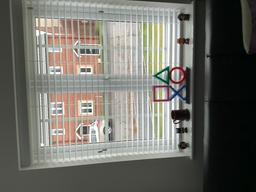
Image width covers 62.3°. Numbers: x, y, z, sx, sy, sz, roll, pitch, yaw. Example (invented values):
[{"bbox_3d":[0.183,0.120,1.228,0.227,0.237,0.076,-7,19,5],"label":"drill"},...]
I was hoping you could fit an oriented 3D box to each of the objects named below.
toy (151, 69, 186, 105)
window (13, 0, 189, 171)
[{"bbox_3d":[0.340,-0.080,1.790,0.140,0.250,0.290,-152,61,-76],"label":"toy"},{"bbox_3d":[-0.160,-0.100,1.720,0.150,1.300,1.280,-148,57,-76],"label":"window"}]
